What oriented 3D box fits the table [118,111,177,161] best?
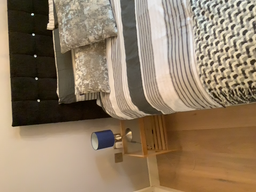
[{"bbox_3d":[0.190,0.390,2.140,0.360,0.410,0.410,-16,78,57],"label":"table"}]

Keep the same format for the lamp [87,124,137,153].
[{"bbox_3d":[-0.150,0.380,1.960,0.250,0.370,0.200,-14,80,57],"label":"lamp"}]
